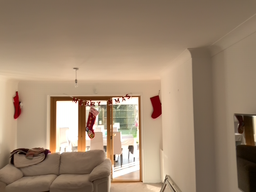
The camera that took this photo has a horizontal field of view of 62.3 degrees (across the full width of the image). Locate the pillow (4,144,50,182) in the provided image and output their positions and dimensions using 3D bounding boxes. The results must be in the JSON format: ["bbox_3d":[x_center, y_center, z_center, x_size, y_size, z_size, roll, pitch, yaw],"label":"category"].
[{"bbox_3d":[-2.010,1.340,4.250,0.710,0.480,0.150,23,-4,-7],"label":"pillow"}]
